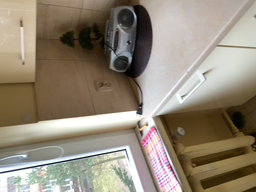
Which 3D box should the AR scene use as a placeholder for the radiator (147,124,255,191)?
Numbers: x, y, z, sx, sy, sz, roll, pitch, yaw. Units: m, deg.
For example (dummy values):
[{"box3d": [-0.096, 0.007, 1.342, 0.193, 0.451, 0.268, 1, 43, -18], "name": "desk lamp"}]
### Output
[{"box3d": [0.580, 0.460, 1.250, 0.440, 0.790, 0.250, 67, 147, 33], "name": "radiator"}]
